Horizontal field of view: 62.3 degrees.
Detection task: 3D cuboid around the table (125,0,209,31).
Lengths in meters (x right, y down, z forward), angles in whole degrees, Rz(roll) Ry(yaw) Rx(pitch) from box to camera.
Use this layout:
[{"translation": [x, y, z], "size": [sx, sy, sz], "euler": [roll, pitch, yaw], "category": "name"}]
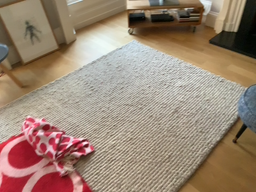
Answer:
[{"translation": [0.520, -1.320, 3.140], "size": [1.110, 0.410, 0.600], "euler": [-3, 42, 0], "category": "table"}]
